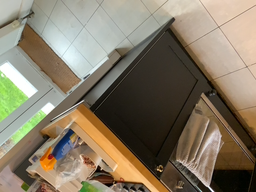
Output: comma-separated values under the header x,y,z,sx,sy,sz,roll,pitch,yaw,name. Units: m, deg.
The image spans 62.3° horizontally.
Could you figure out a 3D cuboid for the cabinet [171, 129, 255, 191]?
x,y,z,sx,sy,sz,roll,pitch,yaw,name
0.690,0.740,1.530,0.400,0.880,0.590,48,143,-12,cabinet
